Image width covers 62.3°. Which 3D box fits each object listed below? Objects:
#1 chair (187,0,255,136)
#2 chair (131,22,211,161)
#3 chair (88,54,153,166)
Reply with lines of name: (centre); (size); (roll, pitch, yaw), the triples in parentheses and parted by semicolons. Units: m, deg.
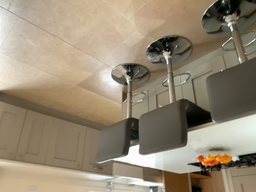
chair: (0.750, -0.280, 1.430); (0.470, 0.940, 0.390); (25, 143, -38)
chair: (0.330, -0.030, 1.810); (0.470, 1.030, 0.380); (25, 143, -38)
chair: (-0.060, 0.150, 2.190); (0.460, 1.000, 0.380); (25, 143, -38)
